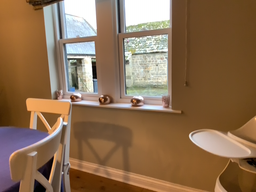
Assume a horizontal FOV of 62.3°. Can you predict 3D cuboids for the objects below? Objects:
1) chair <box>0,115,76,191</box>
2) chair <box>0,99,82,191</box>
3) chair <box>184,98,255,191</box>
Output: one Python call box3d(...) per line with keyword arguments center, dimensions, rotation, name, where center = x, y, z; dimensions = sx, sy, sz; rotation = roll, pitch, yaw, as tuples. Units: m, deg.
box3d(center=(-0.490, 0.570, 0.930), dimensions=(0.450, 0.880, 0.390), rotation=(-3, 10, -3), name="chair")
box3d(center=(-0.660, 0.500, 1.460), dimensions=(0.420, 0.870, 0.500), rotation=(2, 10, 23), name="chair")
box3d(center=(0.770, 0.490, 1.280), dimensions=(0.640, 0.840, 0.550), rotation=(-5, 10, -15), name="chair")
